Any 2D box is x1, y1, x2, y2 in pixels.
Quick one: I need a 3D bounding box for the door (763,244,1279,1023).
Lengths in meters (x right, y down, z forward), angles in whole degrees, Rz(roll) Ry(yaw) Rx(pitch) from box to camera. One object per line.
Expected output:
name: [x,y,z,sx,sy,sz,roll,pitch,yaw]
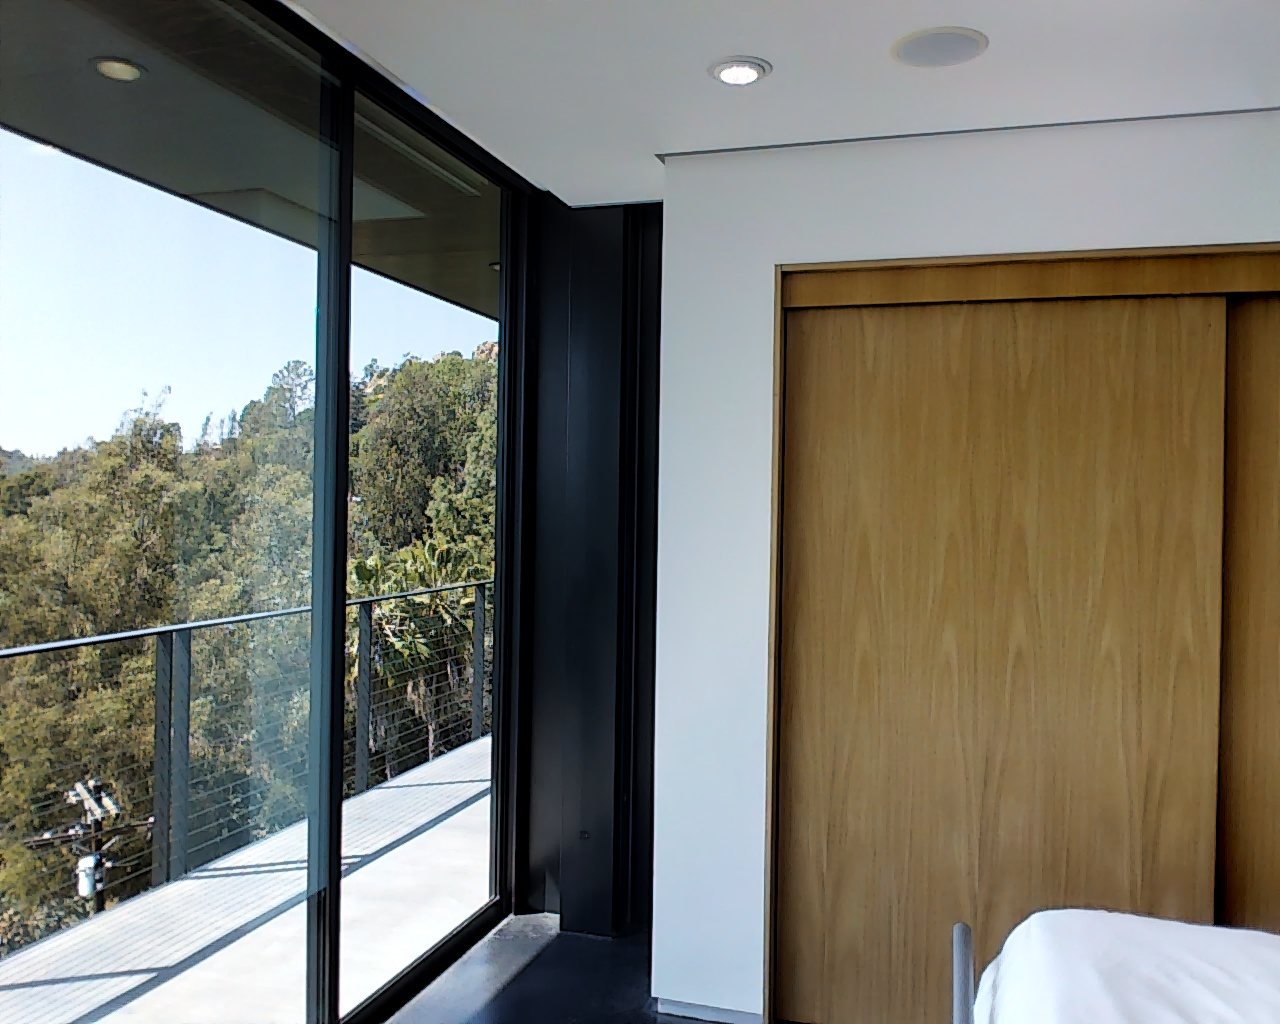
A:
door: [1.560,0.430,2.940,2.420,2.270,0.150,1,0,17]
